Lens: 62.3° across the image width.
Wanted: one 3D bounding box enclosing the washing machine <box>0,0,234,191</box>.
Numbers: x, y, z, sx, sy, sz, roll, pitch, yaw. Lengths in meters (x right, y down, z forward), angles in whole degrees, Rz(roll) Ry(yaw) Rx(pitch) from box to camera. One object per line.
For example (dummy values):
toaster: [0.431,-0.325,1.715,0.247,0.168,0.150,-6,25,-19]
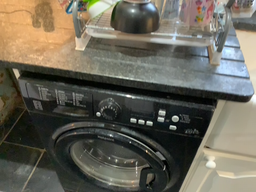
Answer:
washing machine: [0.000,0.070,1.070,0.610,0.880,0.700,9,46,7]
